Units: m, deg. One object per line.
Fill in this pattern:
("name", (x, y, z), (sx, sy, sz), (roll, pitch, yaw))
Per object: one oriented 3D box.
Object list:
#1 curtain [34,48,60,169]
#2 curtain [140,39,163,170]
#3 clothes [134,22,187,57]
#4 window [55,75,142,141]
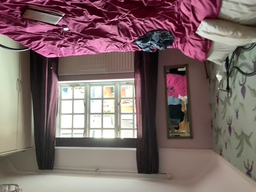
("curtain", (-1.450, 0.200, 3.820), (0.290, 2.090, 0.230), (-2, 174, 14))
("curtain", (0.390, 0.120, 3.510), (0.320, 2.100, 0.150), (-2, 174, 12))
("clothes", (0.360, -0.560, 2.230), (0.470, 0.090, 0.690), (-2, 174, 13))
("window", (-0.580, 0.240, 4.000), (1.690, 1.180, 0.050), (-2, 174, 12))
